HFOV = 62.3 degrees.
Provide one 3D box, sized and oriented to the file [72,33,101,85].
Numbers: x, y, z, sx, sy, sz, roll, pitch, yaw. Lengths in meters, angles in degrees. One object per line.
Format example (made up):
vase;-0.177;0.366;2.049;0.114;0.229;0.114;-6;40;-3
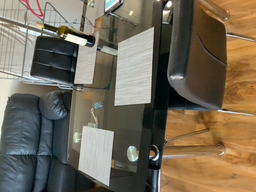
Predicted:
file;-0.280;-0.230;1.390;0.280;0.020;0.310;1;83;51

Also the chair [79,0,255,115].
chair;0.340;-0.150;1.020;0.520;0.950;0.410;-3;80;51

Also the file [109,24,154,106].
file;0.010;-0.130;1.000;0.280;0.020;0.340;-8;76;50

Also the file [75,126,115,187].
file;-0.190;0.310;1.160;0.330;0.030;0.260;-2;81;51

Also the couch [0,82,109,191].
couch;-0.970;0.700;2.520;1.050;0.900;1.520;-2;81;51
